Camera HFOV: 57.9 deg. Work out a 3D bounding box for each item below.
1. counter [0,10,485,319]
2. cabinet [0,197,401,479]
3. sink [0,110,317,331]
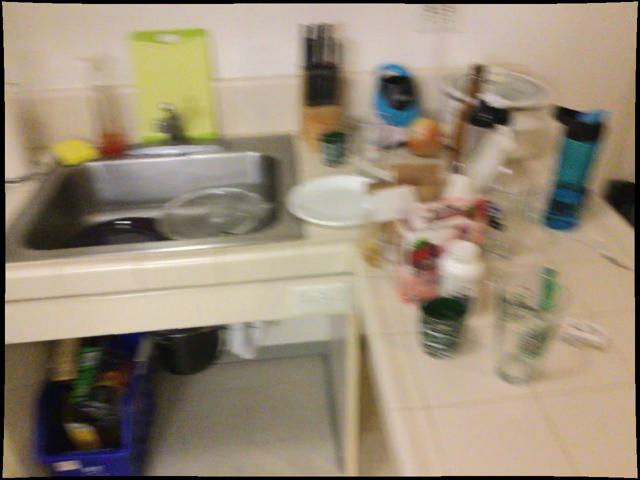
[{"bbox_3d":[-0.929,-0.160,1.260,2.368,0.370,0.650,-5,34,-4],"label":"counter"},{"bbox_3d":[-0.490,0.340,1.450,1.299,0.720,0.340,-5,34,-4],"label":"cabinet"},{"bbox_3d":[-0.340,-0.080,1.400,0.609,0.240,0.530,-5,34,-4],"label":"sink"}]
